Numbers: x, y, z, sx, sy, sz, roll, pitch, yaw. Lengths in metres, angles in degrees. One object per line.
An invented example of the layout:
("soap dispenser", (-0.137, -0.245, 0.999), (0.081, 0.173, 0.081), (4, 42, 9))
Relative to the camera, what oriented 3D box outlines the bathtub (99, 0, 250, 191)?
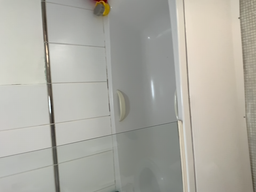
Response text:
("bathtub", (0.290, 0.040, 1.450), (0.710, 0.580, 1.660), (-3, 92, 53))
